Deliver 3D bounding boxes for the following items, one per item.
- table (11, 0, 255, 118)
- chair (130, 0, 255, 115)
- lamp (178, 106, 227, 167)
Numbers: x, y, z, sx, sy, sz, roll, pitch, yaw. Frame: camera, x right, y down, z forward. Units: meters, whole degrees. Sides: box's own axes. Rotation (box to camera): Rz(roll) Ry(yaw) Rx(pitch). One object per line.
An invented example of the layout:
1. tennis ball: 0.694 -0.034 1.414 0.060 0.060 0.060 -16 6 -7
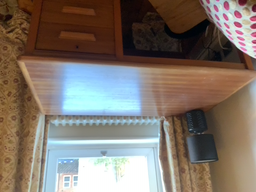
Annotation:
1. table: 0.060 -0.330 1.280 1.120 0.750 0.620 2 156 -11
2. chair: 0.330 -0.450 0.870 0.480 0.890 0.440 -22 150 35
3. lamp: 0.450 0.250 1.320 0.180 0.340 0.150 2 156 -11
